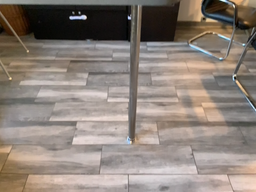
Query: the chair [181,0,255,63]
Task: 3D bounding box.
[{"bbox_3d":[1.150,-1.010,2.460,0.580,0.910,0.680,-28,50,-30],"label":"chair"}]
